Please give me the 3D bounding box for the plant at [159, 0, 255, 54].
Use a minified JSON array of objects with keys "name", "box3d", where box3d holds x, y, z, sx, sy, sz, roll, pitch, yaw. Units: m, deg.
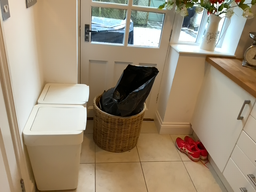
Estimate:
[{"name":"plant","box3d":[0.690,-0.730,1.800,0.690,0.640,0.280,1,30,-12]}]
